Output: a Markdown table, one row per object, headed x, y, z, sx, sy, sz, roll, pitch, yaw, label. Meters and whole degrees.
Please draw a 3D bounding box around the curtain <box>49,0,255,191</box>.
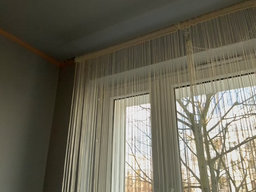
| x | y | z | sx | sy | sz | roll | pitch | yaw | label |
| --- | --- | --- | --- | --- | --- | --- | --- | --- | --- |
| 0.230 | 0.320 | 1.120 | 1.620 | 1.870 | 0.140 | -11 | -24 | 28 | curtain |
